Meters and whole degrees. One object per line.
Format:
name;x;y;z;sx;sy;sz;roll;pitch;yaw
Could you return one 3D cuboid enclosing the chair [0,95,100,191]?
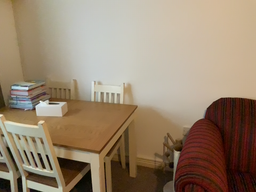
chair;-0.540;0.510;1.580;0.440;0.890;0.500;7;18;21
